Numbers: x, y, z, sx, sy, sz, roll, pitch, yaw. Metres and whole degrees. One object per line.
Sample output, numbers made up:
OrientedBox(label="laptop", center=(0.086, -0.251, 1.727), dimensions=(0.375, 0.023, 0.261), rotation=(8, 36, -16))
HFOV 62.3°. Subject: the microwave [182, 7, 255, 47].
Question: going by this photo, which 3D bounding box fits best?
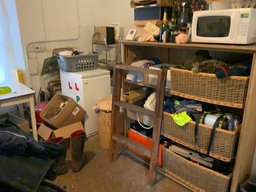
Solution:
OrientedBox(label="microwave", center=(0.710, -0.540, 1.680), dimensions=(0.230, 0.260, 0.490), rotation=(-16, 24, -41))
